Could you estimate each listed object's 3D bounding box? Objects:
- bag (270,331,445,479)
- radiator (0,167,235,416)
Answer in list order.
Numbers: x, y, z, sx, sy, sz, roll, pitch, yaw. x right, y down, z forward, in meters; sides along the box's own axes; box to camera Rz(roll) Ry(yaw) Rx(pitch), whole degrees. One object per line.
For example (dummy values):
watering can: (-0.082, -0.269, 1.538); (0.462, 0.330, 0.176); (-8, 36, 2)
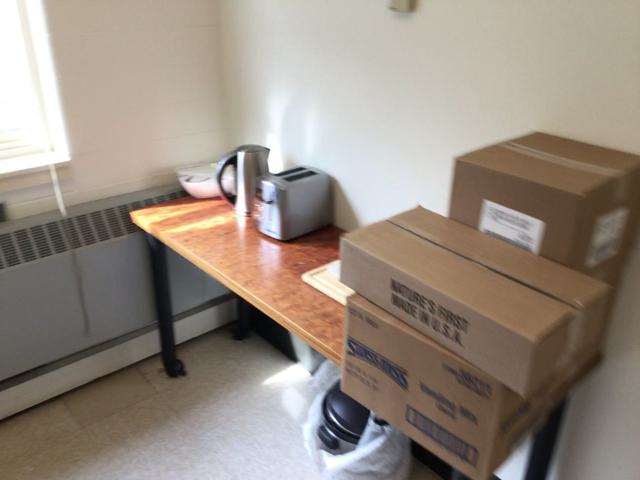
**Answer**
bag: (0.110, 0.600, 1.880); (0.380, 0.370, 0.390); (-19, 31, -40)
radiator: (-1.260, 0.290, 1.730); (2.210, 0.600, 0.310); (-19, 31, -40)
